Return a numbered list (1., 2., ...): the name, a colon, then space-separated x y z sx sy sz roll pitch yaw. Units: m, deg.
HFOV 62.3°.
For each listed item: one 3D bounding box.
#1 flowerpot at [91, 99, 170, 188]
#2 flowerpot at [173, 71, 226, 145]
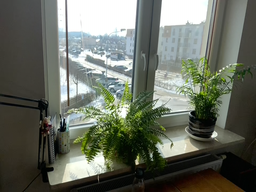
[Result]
1. flowerpot: -0.010 0.270 1.400 0.360 0.390 0.400 -4 17 -25
2. flowerpot: 0.550 0.080 1.690 0.200 0.510 0.280 -3 17 -24
